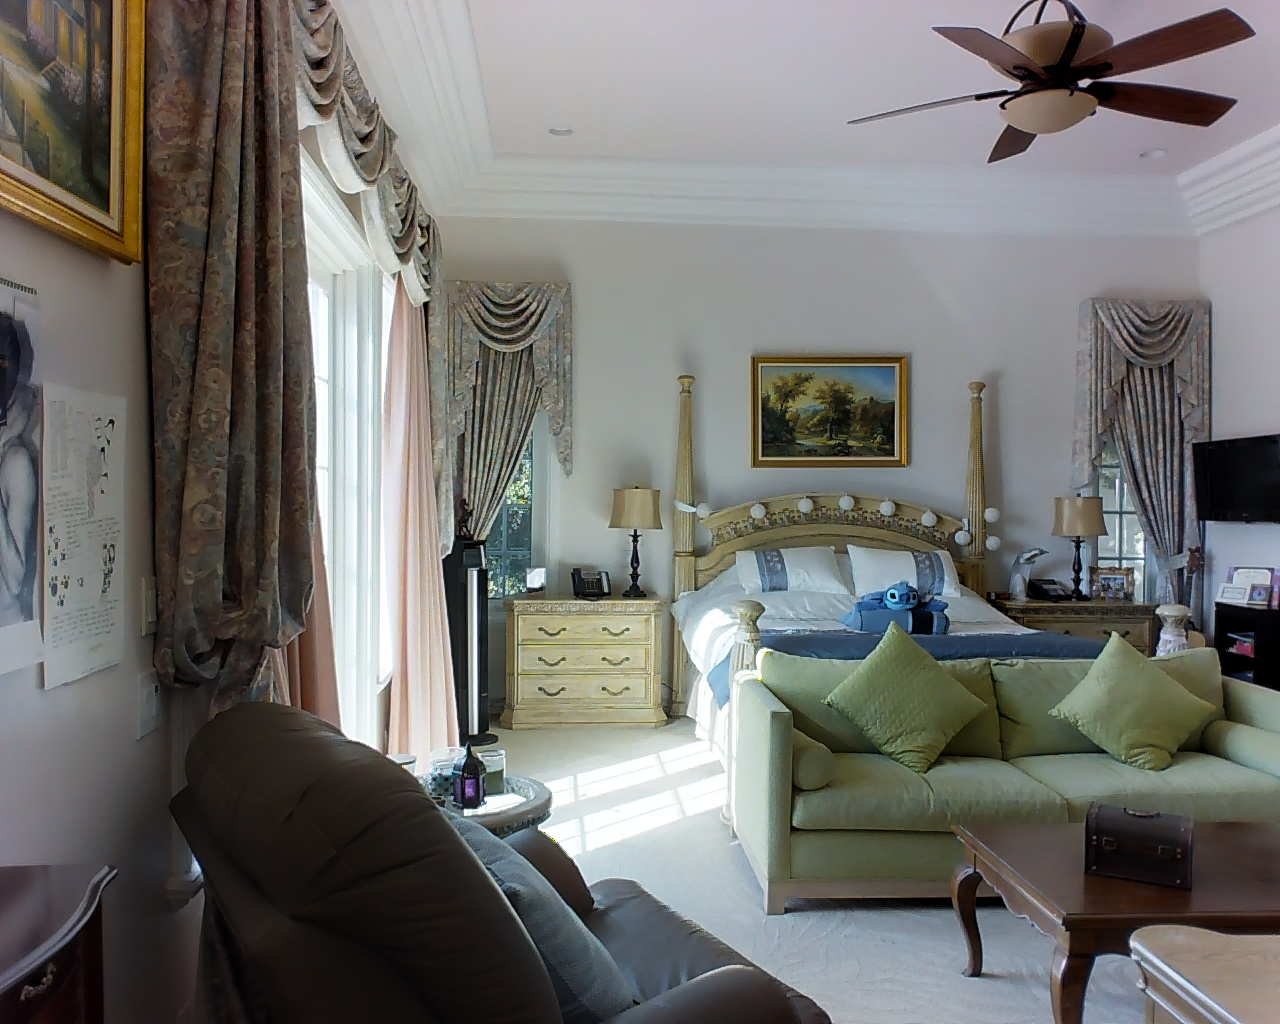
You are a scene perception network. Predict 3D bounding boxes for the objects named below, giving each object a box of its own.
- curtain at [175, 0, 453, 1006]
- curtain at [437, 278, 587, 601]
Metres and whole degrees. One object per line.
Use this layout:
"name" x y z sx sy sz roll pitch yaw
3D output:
"curtain" -1.070 -0.280 4.160 0.280 2.950 3.060 1 1 -3
"curtain" -0.820 -0.460 6.930 0.910 2.040 0.180 1 1 -3
